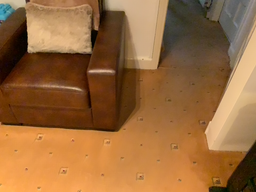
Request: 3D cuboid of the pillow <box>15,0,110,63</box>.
[{"bbox_3d":[-0.450,-0.480,1.510,0.580,0.320,0.170,14,16,-7],"label":"pillow"}]
